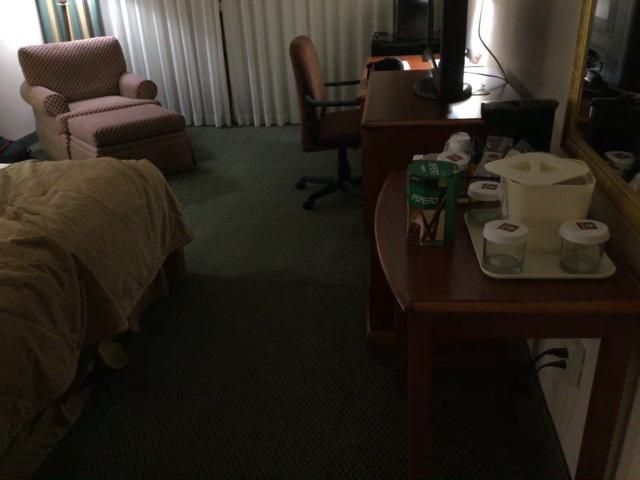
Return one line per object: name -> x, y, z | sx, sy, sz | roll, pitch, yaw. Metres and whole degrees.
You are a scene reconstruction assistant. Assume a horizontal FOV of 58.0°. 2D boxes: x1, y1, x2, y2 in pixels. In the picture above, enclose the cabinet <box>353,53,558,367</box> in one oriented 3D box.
cabinet -> 0.450, -0.170, 2.300 | 0.590, 0.940, 0.890 | 1, 28, 6
